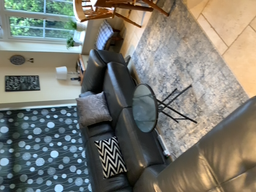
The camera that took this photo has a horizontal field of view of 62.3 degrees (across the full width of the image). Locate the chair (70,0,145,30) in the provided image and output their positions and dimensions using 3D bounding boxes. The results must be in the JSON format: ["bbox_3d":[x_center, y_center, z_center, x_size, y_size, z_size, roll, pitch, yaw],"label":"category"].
[{"bbox_3d":[-0.270,-1.320,2.800,0.520,0.830,0.620,61,144,42],"label":"chair"}]
